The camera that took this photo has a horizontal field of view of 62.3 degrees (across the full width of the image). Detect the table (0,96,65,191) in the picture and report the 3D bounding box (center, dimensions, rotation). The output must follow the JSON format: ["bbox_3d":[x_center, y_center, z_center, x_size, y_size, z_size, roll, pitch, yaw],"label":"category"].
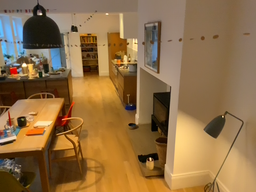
[{"bbox_3d":[-1.590,0.660,3.290,0.930,0.720,1.980,-4,18,-10],"label":"table"}]

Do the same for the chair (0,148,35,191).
[{"bbox_3d":[-1.300,0.990,2.220,0.400,0.730,0.440,-1,18,0],"label":"chair"}]
